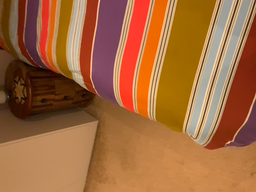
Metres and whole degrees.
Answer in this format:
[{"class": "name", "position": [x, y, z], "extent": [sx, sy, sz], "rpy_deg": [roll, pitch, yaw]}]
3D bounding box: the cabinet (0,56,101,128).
[{"class": "cabinet", "position": [-0.660, -0.070, 1.840], "extent": [0.460, 0.640, 0.410], "rpy_deg": [26, 111, 36]}]
